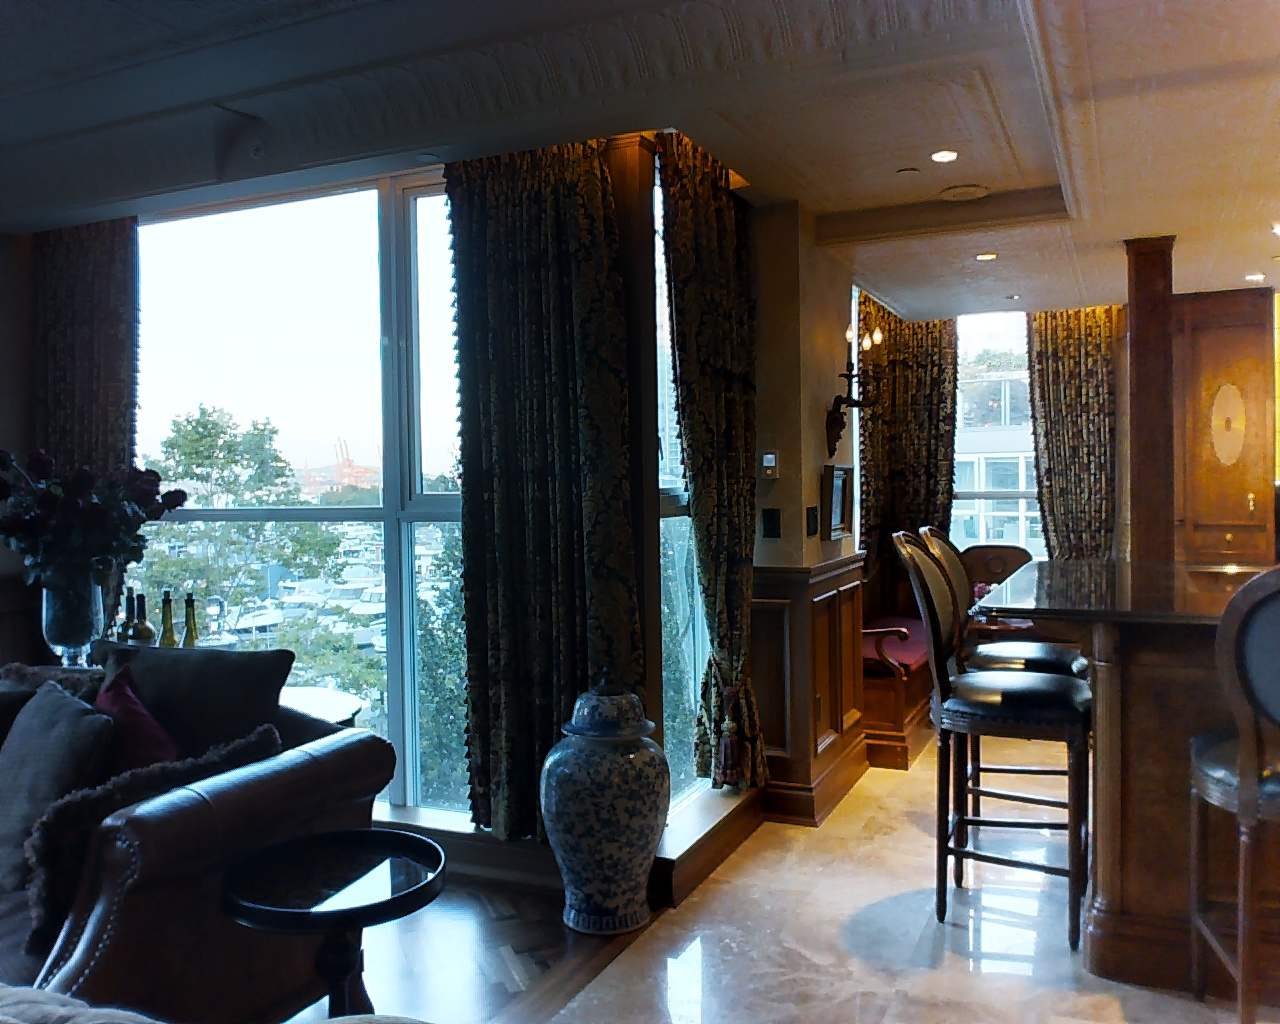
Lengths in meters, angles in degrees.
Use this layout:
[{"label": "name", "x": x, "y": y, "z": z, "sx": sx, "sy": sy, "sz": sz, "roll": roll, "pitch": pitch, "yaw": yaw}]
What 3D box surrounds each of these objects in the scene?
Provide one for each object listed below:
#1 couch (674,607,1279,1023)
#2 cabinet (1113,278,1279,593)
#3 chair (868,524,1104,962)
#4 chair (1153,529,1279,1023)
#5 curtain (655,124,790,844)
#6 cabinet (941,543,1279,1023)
[{"label": "couch", "x": 1.370, "y": 0.830, "z": 2.830, "sx": 2.300, "sy": 0.970, "sz": 1.090, "roll": 0, "pitch": 2, "yaw": 25}, {"label": "cabinet", "x": 3.239, "y": -0.420, "z": 6.270, "sx": 0.870, "sy": 1.720, "sz": 0.470, "roll": 0, "pitch": 2, "yaw": 24}, {"label": "chair", "x": 1.150, "y": 0.680, "z": 3.530, "sx": 0.650, "sy": 1.260, "sz": 0.570, "roll": 0, "pitch": 2, "yaw": 26}, {"label": "chair", "x": 1.620, "y": 0.680, "z": 2.570, "sx": 0.700, "sy": 1.240, "sz": 0.730, "roll": 0, "pitch": 2, "yaw": 25}, {"label": "curtain", "x": 0.350, "y": -0.100, "z": 4.230, "sx": 0.190, "sy": 2.531, "sz": 0.900, "roll": 0, "pitch": 2, "yaw": 25}, {"label": "cabinet", "x": 2.379, "y": 0.740, "z": 3.620, "sx": 2.260, "sy": 1.110, "sz": 2.590, "roll": 0, "pitch": 2, "yaw": 24}]
